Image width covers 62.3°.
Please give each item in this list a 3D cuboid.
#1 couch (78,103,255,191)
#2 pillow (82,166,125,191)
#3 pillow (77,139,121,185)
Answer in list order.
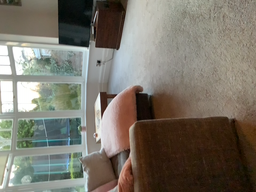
[{"bbox_3d":[0.020,0.950,1.930,2.220,0.760,1.090,128,140,-63],"label":"couch"},{"bbox_3d":[-0.300,1.080,2.420,0.360,0.420,0.110,14,145,32],"label":"pillow"},{"bbox_3d":[-0.370,0.820,2.670,0.380,0.400,0.140,54,152,23],"label":"pillow"}]
